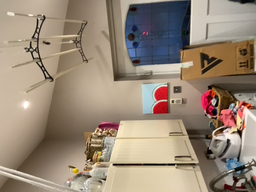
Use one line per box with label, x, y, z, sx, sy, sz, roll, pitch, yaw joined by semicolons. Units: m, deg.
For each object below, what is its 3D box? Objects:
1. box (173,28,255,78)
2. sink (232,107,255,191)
box;1.240;-0.410;2.130;0.680;1.460;0.390;-50;-42;-83
sink;1.110;0.460;1.800;0.390;0.230;0.630;-77;-15;-70
